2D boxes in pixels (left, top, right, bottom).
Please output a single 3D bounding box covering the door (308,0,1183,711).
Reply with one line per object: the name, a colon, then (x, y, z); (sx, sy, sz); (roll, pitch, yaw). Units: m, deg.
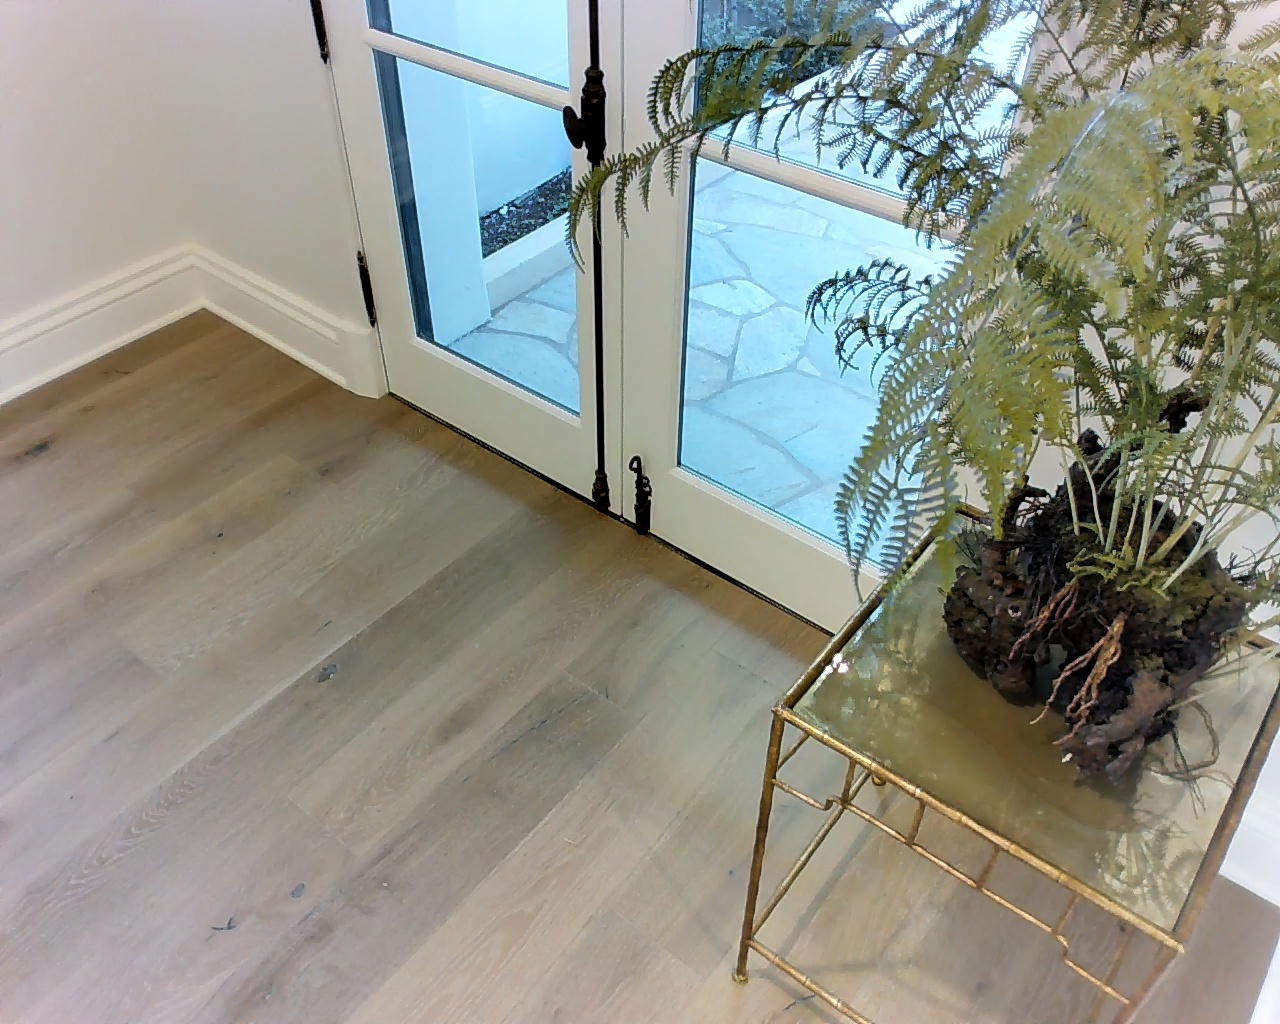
door: (-0.010, -0.880, 1.590); (1.560, 2.450, 0.080); (29, 49, 27)
